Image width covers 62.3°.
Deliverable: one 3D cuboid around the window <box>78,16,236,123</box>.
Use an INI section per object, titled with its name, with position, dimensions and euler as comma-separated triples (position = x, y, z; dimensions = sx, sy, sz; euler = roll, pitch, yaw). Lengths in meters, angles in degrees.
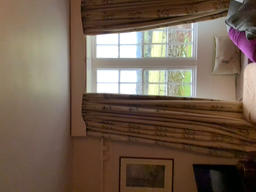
[window]
position = 0.390, -0.390, 3.130
dimensions = 0.110, 2.250, 1.520
euler = -39, -50, -86
